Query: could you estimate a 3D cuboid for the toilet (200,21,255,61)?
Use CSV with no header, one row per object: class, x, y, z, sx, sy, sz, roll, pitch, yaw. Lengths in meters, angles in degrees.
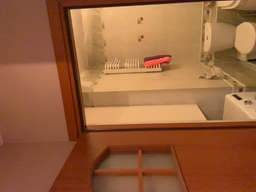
toilet,1.400,-0.710,2.650,0.670,0.770,0.370,-83,-10,-69
